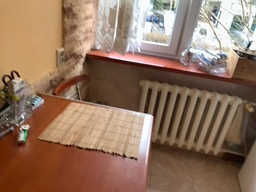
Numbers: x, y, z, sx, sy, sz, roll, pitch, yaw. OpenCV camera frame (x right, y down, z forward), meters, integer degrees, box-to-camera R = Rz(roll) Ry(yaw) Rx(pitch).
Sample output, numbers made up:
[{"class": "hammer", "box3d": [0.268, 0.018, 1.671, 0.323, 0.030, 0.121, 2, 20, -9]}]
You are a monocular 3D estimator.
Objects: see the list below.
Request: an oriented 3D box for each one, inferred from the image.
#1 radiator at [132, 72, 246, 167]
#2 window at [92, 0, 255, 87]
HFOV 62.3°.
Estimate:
[{"class": "radiator", "box3d": [0.490, 0.200, 1.900, 0.790, 0.620, 0.280, 13, 27, 8]}, {"class": "window", "box3d": [0.580, -0.990, 1.760, 1.640, 1.560, 0.290, 13, 27, 7]}]
